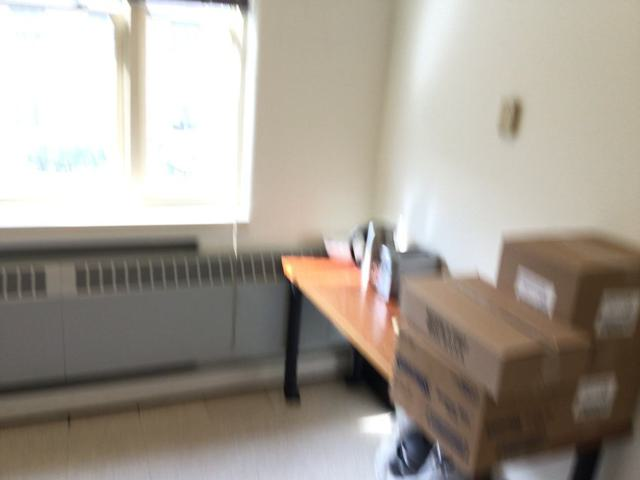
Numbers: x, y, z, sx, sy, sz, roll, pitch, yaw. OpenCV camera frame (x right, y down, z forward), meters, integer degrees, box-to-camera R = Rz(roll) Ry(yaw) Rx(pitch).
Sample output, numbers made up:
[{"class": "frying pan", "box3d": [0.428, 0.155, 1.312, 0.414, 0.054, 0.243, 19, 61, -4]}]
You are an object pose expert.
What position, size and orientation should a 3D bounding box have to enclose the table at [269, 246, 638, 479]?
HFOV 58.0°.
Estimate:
[{"class": "table", "box3d": [0.290, 0.610, 2.170, 0.510, 0.740, 1.480, -2, 18, -22]}]
